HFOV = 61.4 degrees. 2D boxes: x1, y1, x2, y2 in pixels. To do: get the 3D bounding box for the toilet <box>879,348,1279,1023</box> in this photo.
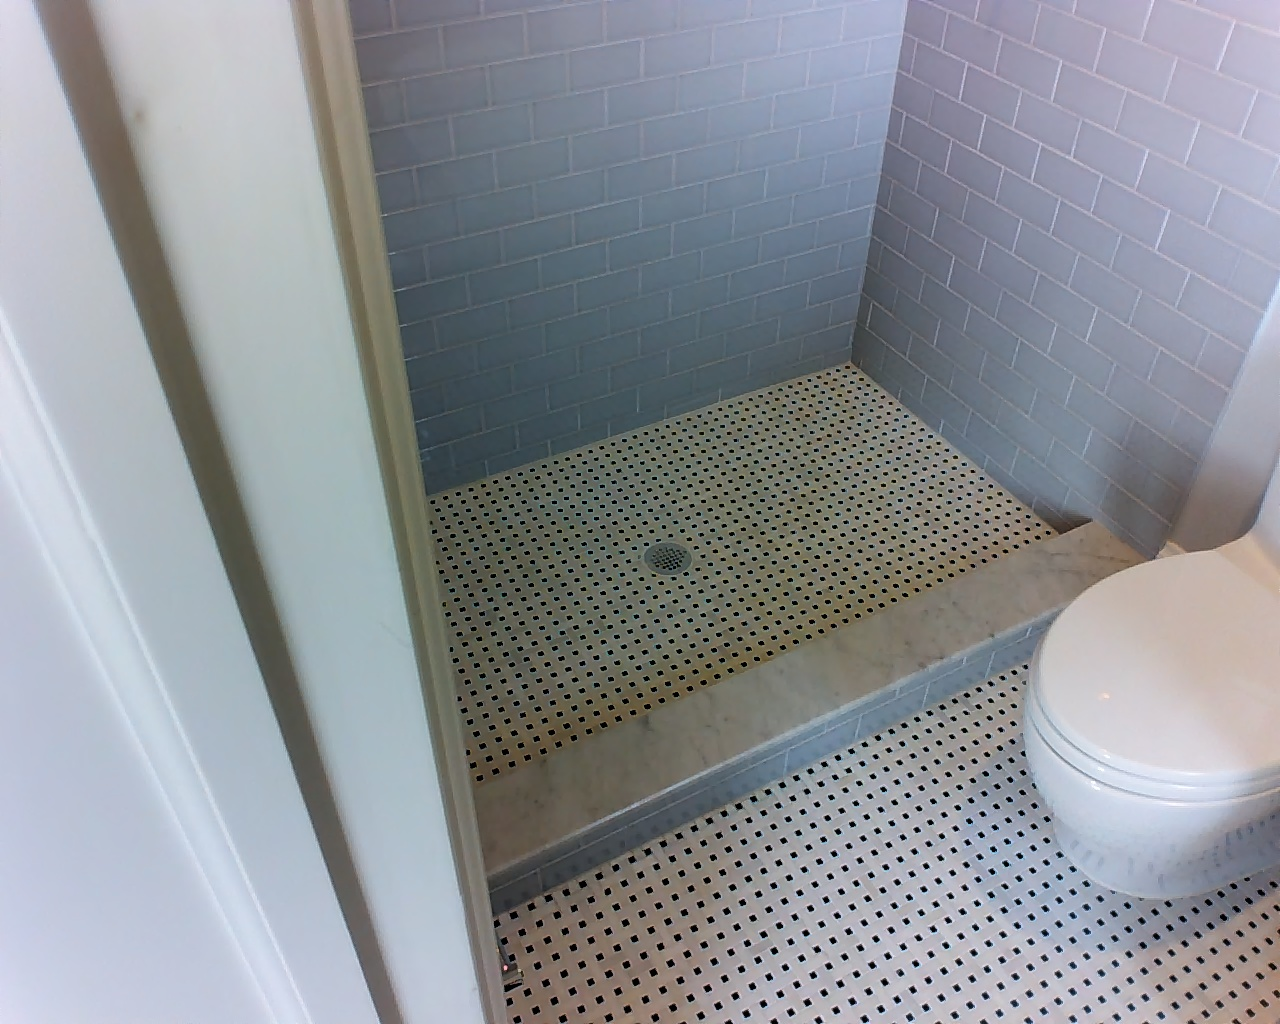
[{"bbox_3d":[0.850,0.250,1.580,0.760,0.760,0.450,-21,46,-23],"label":"toilet"}]
